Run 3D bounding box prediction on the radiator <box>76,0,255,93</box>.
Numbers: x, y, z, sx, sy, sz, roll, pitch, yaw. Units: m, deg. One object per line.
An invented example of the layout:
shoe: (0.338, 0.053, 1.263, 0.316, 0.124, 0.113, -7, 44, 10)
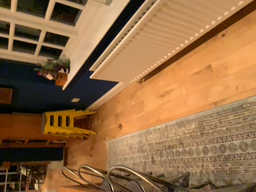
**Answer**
radiator: (0.160, -0.390, 1.830, 1.920, 0.660, 0.140, -28, 61, 55)
